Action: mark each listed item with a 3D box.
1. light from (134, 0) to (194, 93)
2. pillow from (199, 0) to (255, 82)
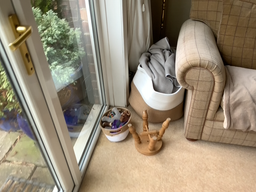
[{"bbox_3d":[0.320,-0.900,1.880,0.410,1.800,0.340,-23,43,-25],"label":"light"},{"bbox_3d":[0.820,-0.400,1.500,0.530,0.550,0.210,7,-9,12],"label":"pillow"}]
